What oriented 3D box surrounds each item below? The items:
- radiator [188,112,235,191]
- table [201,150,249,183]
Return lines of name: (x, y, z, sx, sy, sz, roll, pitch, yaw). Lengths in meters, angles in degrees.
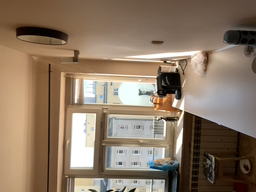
radiator: (1.100, 0.750, 2.800, 0.170, 0.520, 1.040, 172, 101, -85)
table: (1.160, 0.850, 2.570, 0.250, 0.450, 0.300, -152, 64, -85)
